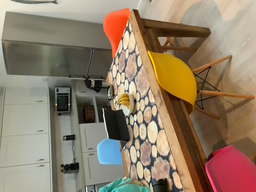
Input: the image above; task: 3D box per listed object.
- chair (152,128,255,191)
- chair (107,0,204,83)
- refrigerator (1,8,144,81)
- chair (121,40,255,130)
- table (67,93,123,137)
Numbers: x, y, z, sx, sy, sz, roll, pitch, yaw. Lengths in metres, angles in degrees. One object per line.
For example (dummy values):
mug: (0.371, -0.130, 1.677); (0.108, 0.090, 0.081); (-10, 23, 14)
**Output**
chair: (0.640, 0.480, 1.160); (0.510, 0.780, 0.450); (123, 140, -52)
chair: (0.230, -0.560, 2.230); (0.610, 0.680, 0.580); (119, 143, -50)
refrigerator: (-0.770, -0.690, 3.140); (0.640, 1.800, 0.630); (119, 143, -50)
chair: (0.430, -0.060, 1.650); (0.510, 0.780, 0.420); (123, 140, -52)
table: (-0.670, 0.360, 4.140); (0.640, 0.890, 0.590); (120, 142, -51)
